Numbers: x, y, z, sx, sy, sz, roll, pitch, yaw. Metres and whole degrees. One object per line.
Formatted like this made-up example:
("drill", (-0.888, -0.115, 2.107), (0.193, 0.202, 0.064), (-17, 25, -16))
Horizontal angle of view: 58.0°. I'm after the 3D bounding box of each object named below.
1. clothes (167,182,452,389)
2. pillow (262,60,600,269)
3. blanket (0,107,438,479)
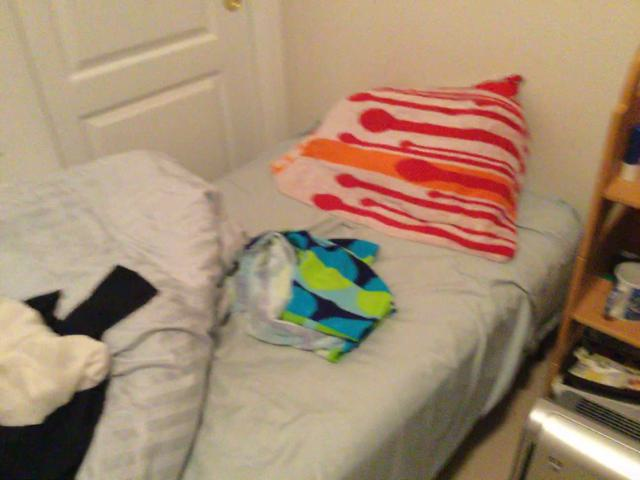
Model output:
("clothes", (-0.030, 0.060, 1.310), (0.400, 0.130, 0.500), (-30, 37, -34))
("pillow", (0.260, -0.260, 1.580), (0.390, 0.290, 0.790), (-30, 38, -34))
("blanket", (-0.420, 0.150, 1.010), (1.040, 0.360, 0.760), (-30, 38, -34))
